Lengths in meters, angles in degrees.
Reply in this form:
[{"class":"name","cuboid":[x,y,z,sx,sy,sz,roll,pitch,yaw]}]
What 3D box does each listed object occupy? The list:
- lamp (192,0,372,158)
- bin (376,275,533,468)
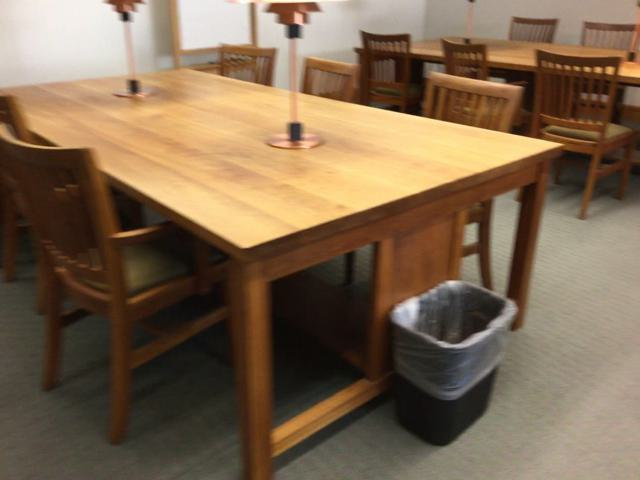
[{"class":"lamp","cuboid":[-0.130,-0.630,2.010,0.390,0.530,0.480,-20,31,-35]},{"class":"bin","cuboid":[0.410,0.390,1.800,0.370,0.390,0.280,-20,31,-36]}]
